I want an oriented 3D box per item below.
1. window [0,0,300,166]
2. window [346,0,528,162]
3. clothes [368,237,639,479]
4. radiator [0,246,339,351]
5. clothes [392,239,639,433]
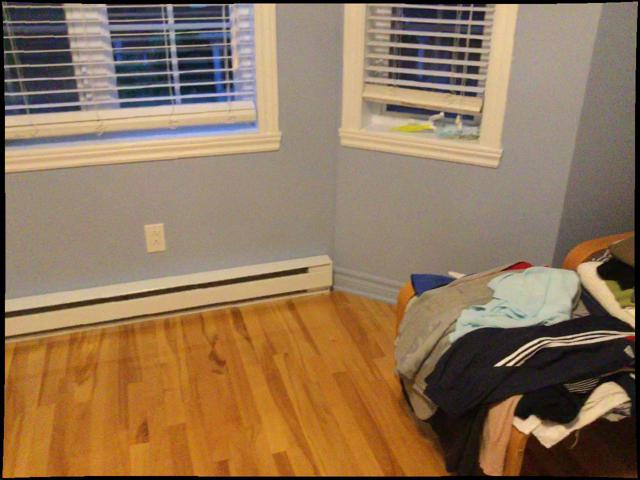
[{"bbox_3d":[-0.769,-0.951,1.850,1.359,1.331,0.260,-8,27,-15],"label":"window"},{"bbox_3d":[0.370,-0.971,1.870,0.420,1.301,0.490,-8,27,-15],"label":"window"},{"bbox_3d":[0.559,0.380,1.620,0.679,0.510,0.550,-8,27,-15],"label":"clothes"},{"bbox_3d":[-0.729,0.240,2.250,1.658,0.190,0.090,-8,27,-15],"label":"radiator"},{"bbox_3d":[0.559,0.220,1.570,0.569,0.180,0.490,-8,27,-15],"label":"clothes"}]
